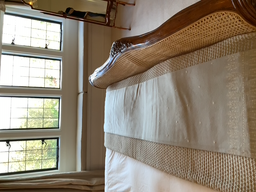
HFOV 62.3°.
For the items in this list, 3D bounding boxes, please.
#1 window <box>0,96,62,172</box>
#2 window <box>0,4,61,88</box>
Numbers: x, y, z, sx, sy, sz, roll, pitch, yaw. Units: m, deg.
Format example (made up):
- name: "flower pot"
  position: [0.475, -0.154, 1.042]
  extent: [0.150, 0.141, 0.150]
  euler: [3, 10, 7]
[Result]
- name: "window"
  position: [-1.770, 0.660, 3.840]
  extent: [0.090, 1.080, 1.270]
  euler: [-10, 79, 63]
- name: "window"
  position: [-1.790, -0.890, 3.960]
  extent: [0.110, 1.000, 1.440]
  euler: [-9, 80, 63]
